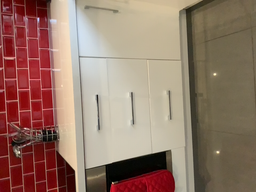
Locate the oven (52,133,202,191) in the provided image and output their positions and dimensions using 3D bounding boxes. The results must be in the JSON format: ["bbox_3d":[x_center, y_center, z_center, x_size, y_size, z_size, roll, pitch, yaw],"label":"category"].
[{"bbox_3d":[-0.010,0.670,1.590,0.600,0.930,0.590,-2,91,60],"label":"oven"}]
